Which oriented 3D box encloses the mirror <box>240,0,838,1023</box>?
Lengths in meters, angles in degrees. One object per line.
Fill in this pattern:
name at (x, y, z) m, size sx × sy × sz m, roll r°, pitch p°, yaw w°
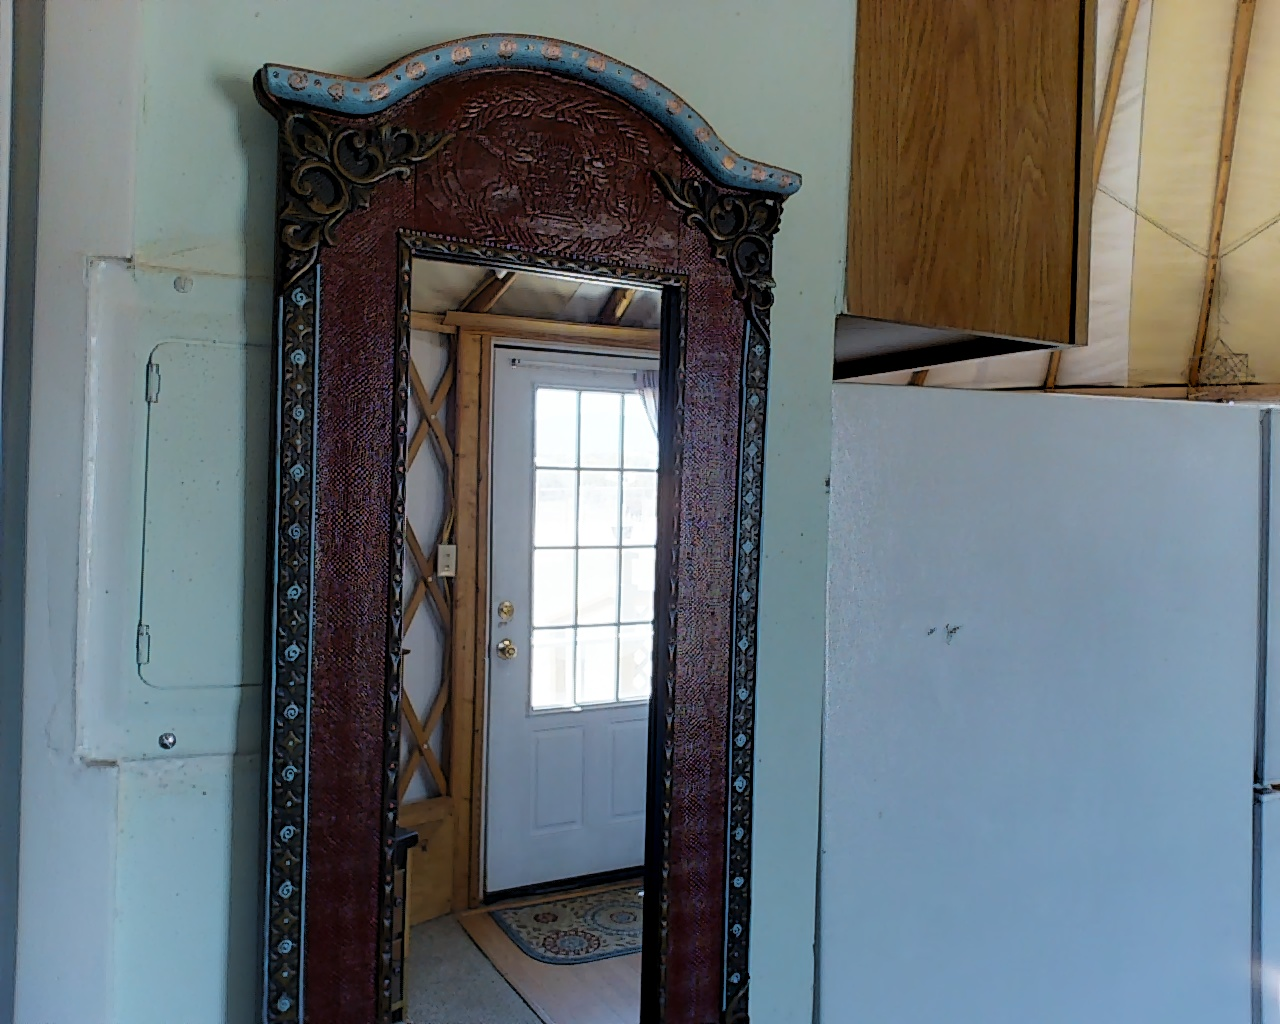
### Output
mirror at (-0.060, 0.060, 0.840) m, size 0.460 × 0.900 × 0.060 m, roll 1°, pitch 1°, yaw -26°
